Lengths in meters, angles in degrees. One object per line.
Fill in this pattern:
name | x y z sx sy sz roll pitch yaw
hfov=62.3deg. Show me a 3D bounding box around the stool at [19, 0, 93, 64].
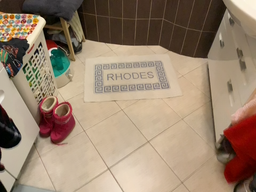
stool | -0.530 -0.590 1.710 0.350 0.510 0.350 10 51 6
